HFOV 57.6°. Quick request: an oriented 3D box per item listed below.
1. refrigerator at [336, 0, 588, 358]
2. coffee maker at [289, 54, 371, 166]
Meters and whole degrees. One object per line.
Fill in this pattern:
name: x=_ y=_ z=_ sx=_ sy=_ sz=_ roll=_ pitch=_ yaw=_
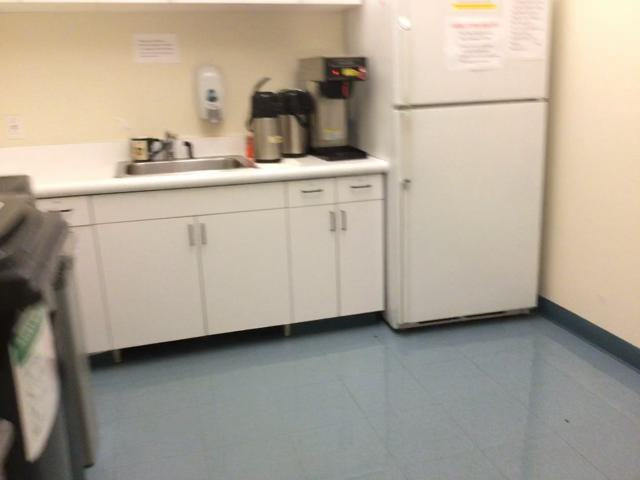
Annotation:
refrigerator: x=0.630 y=-0.400 z=2.920 sx=0.850 sy=1.630 sz=0.870 roll=-6 pitch=17 yaw=-11
coffee maker: x=0.040 y=-0.640 z=2.830 sx=0.290 sy=0.480 sz=0.420 roll=-6 pitch=17 yaw=-11
